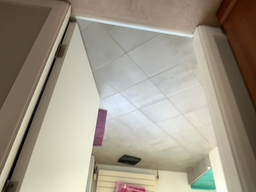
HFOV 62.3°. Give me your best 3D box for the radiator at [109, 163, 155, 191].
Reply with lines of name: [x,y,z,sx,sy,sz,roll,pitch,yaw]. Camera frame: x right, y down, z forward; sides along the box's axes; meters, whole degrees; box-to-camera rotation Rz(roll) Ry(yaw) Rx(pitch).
radiator: [0.060,1.230,2.880,0.600,0.540,0.140,8,142,-7]

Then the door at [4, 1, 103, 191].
door: [-0.300,0.510,0.940,0.040,2.030,0.850,-1,142,4]
